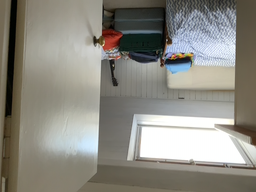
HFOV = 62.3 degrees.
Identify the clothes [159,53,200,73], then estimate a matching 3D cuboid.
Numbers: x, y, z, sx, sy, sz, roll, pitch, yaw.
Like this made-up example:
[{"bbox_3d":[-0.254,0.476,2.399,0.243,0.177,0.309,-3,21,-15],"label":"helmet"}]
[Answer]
[{"bbox_3d":[0.730,-0.480,3.140,0.520,0.190,0.570,1,178,6],"label":"clothes"}]
